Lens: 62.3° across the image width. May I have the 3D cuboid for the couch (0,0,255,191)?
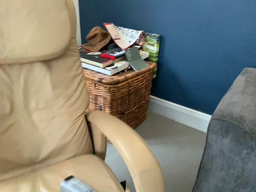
[{"bbox_3d":[-0.400,0.180,0.820,0.710,1.120,1.100,-13,31,-27],"label":"couch"}]
